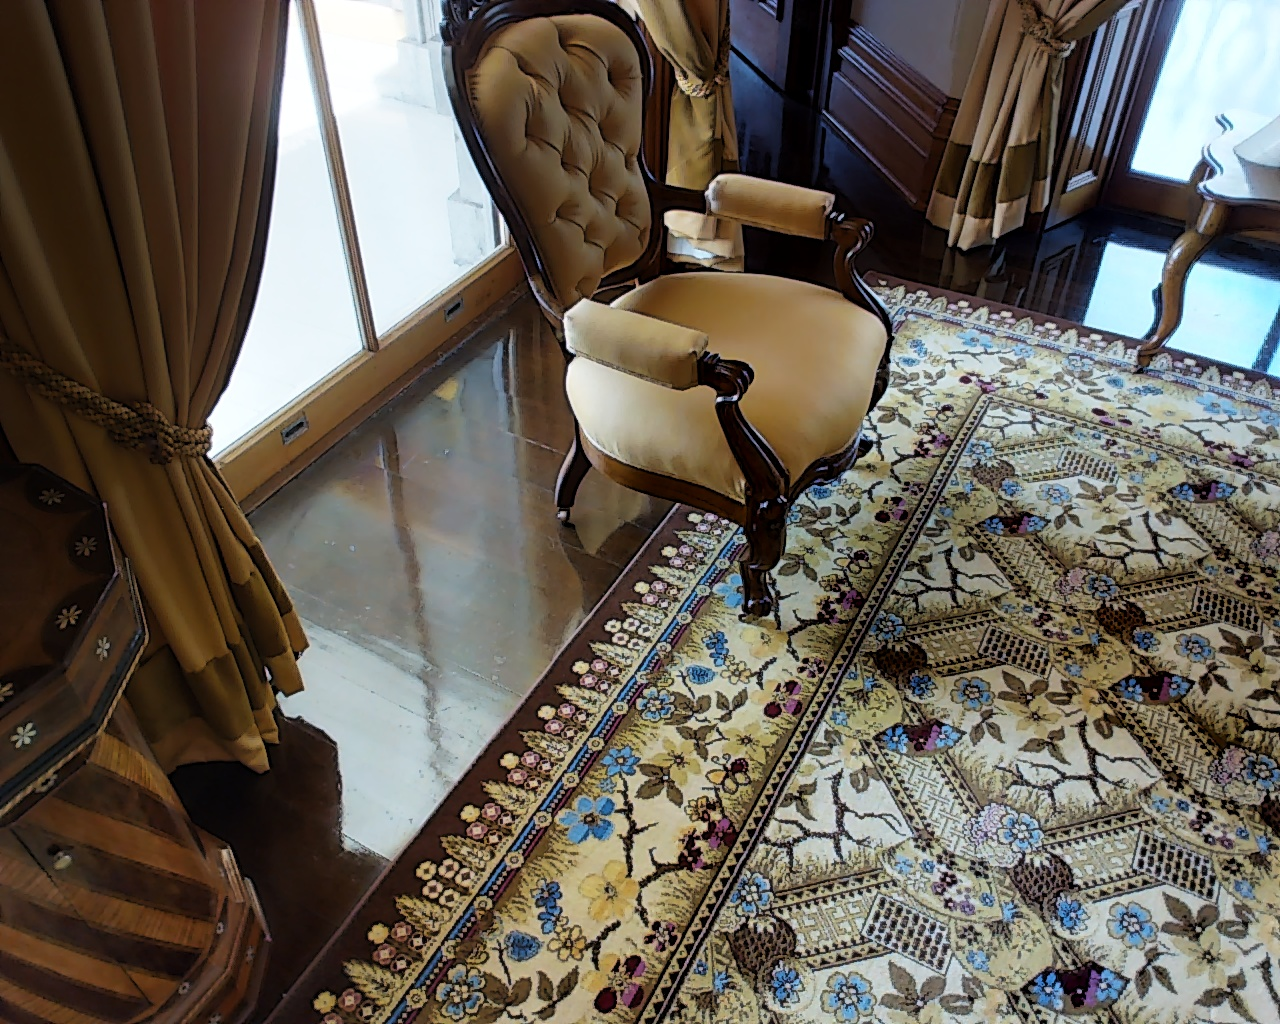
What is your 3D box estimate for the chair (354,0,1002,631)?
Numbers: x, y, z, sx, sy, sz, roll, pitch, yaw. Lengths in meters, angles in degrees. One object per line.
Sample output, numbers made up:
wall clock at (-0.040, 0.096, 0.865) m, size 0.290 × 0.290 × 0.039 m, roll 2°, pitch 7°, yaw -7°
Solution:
chair at (0.090, -0.520, 2.110) m, size 0.840 × 1.070 × 0.730 m, roll 22°, pitch 46°, yaw 21°
